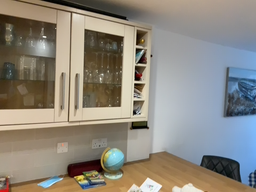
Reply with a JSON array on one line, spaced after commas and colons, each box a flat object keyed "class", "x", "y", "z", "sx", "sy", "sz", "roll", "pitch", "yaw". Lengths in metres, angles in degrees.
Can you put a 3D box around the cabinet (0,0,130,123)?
[{"class": "cabinet", "x": -0.510, "y": -0.210, "z": 1.560, "sx": 1.010, "sy": 0.720, "sz": 0.330, "roll": 0, "pitch": 3, "yaw": -33}]
